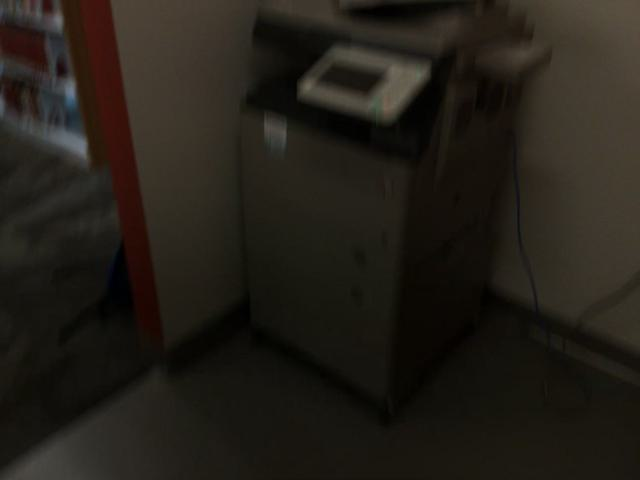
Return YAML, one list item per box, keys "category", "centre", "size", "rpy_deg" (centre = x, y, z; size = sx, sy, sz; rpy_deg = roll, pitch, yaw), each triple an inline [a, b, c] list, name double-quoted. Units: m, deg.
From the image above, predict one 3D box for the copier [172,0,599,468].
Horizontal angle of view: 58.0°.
- category: "copier"
  centre: [0.140, -0.140, 1.600]
  size: [0.740, 1.060, 0.670]
  rpy_deg: [25, 38, 33]
